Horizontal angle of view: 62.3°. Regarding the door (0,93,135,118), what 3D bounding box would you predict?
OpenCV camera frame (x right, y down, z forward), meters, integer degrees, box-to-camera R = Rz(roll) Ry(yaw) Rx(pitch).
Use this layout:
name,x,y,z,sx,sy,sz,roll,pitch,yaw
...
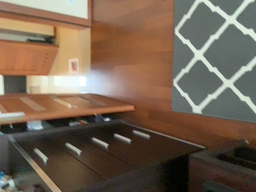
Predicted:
name,x,y,z,sx,sy,sz,roll,pitch,yaw
door,-1.050,0.060,1.740,0.970,2.080,0.090,5,96,51
